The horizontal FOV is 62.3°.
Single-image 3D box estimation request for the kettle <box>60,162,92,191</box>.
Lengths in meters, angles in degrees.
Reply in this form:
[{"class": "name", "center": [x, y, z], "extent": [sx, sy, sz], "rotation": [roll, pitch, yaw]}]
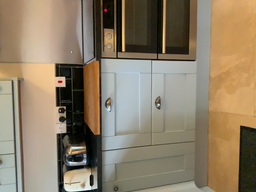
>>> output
[{"class": "kettle", "center": [-0.400, 0.660, 1.620], "extent": [0.170, 0.220, 0.220], "rotation": [-163, 73, -70]}]
